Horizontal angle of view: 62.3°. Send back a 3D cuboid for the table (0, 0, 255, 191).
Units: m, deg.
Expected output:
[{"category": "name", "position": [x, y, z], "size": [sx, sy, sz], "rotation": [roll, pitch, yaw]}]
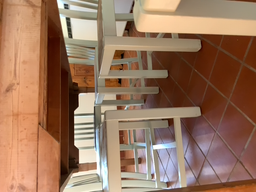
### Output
[{"category": "table", "position": [-0.170, 0.130, 1.280], "size": [1.650, 0.780, 0.880], "rotation": [132, 135, -73]}]
